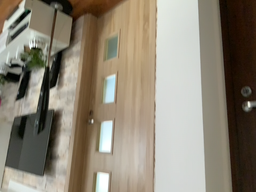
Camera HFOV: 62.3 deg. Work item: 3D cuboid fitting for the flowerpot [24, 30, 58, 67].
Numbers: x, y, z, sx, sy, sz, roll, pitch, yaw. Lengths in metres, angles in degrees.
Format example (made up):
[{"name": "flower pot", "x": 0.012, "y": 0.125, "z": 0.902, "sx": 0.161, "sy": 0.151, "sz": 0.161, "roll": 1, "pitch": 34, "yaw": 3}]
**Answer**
[{"name": "flowerpot", "x": -0.860, "y": -0.460, "z": 2.100, "sx": 0.270, "sy": 0.240, "sz": 0.190, "roll": -11, "pitch": 160, "yaw": 43}]
